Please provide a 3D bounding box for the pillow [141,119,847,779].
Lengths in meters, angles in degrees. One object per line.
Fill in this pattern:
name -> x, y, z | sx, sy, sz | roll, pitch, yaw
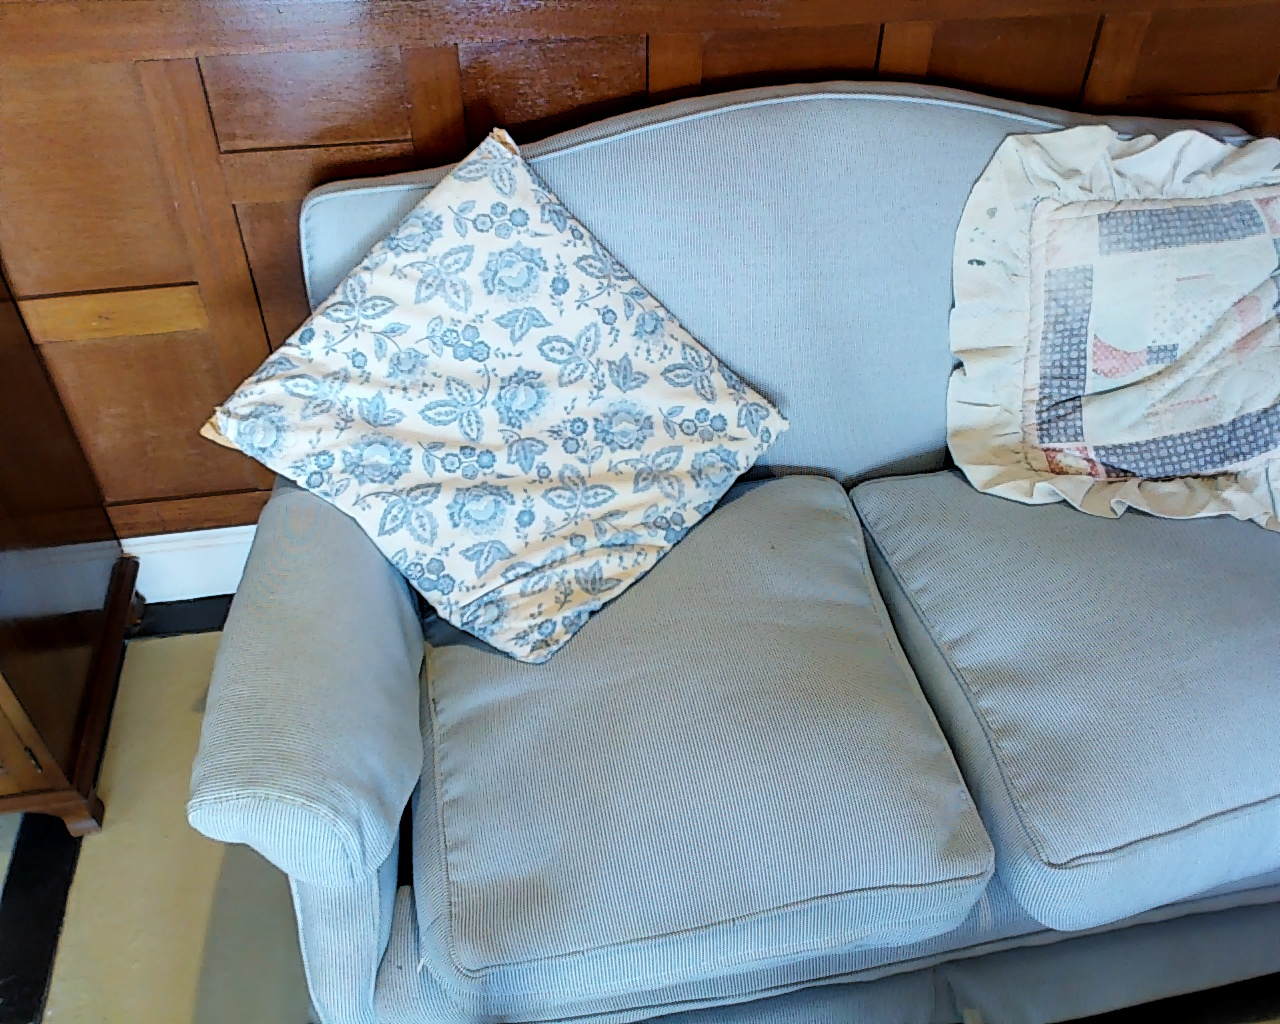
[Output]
pillow -> -0.160, -0.110, 1.150 | 0.460, 0.380, 0.500 | 38, 43, 23
